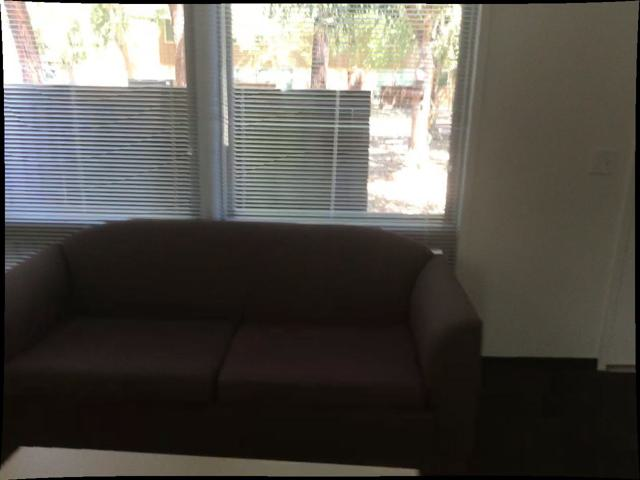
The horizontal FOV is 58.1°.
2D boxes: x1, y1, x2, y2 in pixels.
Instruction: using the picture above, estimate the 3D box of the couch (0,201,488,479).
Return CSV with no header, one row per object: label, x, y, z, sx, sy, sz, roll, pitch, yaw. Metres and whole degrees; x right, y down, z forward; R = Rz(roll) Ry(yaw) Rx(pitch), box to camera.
couch,-0.369,0.351,2.460,1.827,0.771,1.120,1,17,3
